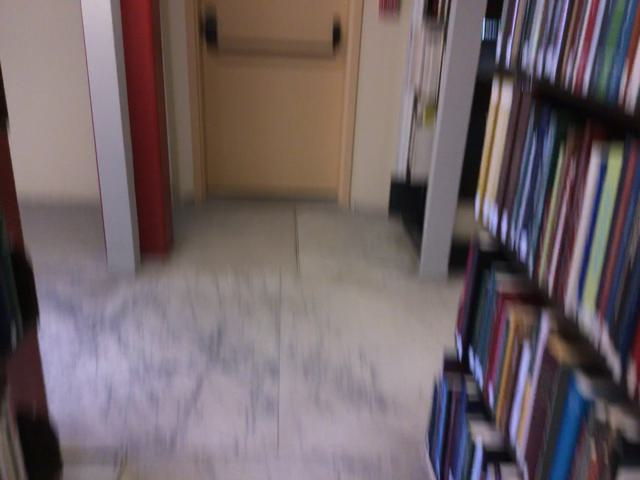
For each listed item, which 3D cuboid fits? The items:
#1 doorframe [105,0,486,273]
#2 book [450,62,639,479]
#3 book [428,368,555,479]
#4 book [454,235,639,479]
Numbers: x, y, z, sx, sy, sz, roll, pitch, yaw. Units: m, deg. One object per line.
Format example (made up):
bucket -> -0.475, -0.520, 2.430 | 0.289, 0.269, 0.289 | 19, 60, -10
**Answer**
doorframe -> -0.110, -0.830, 2.450 | 1.480, 1.960, 0.260 | 4, 26, -6
book -> 0.490, -0.050, 1.030 | 0.210, 0.410, 0.870 | 4, 22, -6
book -> 0.410, 0.660, 1.260 | 0.110, 0.370, 0.760 | 4, 22, -6
book -> 0.470, 0.340, 1.120 | 0.130, 0.430, 0.780 | 4, 22, -6
